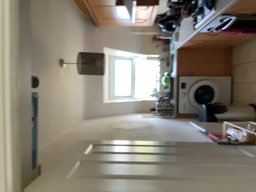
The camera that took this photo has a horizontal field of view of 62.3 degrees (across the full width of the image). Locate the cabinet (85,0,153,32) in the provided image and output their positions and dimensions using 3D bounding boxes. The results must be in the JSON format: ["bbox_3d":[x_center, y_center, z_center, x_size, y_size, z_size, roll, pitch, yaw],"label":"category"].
[{"bbox_3d":[-0.100,-1.170,2.970,0.880,0.820,0.320,-67,-22,-87],"label":"cabinet"}]

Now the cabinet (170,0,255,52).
[{"bbox_3d":[1.150,-1.010,3.020,0.980,0.920,0.600,-67,-22,-87],"label":"cabinet"}]

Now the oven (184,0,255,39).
[{"bbox_3d":[1.140,-0.970,2.230,0.610,0.920,0.600,-67,-22,-87],"label":"oven"}]
